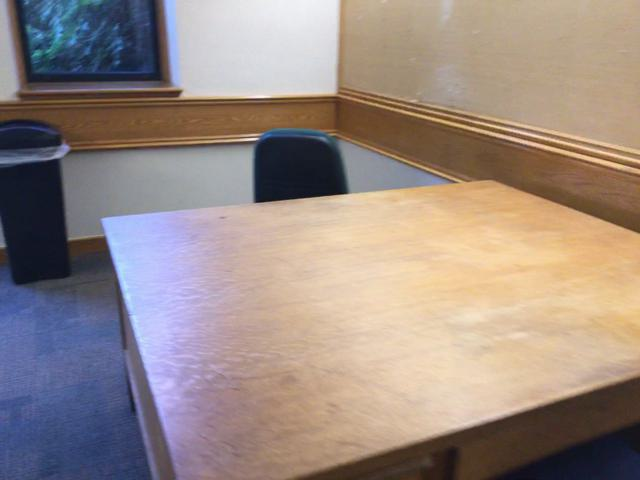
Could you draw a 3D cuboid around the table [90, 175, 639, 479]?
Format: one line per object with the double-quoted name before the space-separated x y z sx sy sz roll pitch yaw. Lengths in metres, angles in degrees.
"table" 0.340 0.410 1.780 1.750 0.810 1.350 -7 23 -26
